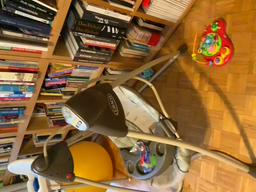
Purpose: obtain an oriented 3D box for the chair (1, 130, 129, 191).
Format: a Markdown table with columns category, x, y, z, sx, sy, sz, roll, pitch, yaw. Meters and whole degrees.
| category | x | y | z | sx | sy | sz | roll | pitch | yaw |
| --- | --- | --- | --- | --- | --- | --- | --- | --- | --- |
| chair | -0.580 | 0.750 | 1.930 | 0.580 | 0.880 | 0.540 | -55 | 51 | 36 |
